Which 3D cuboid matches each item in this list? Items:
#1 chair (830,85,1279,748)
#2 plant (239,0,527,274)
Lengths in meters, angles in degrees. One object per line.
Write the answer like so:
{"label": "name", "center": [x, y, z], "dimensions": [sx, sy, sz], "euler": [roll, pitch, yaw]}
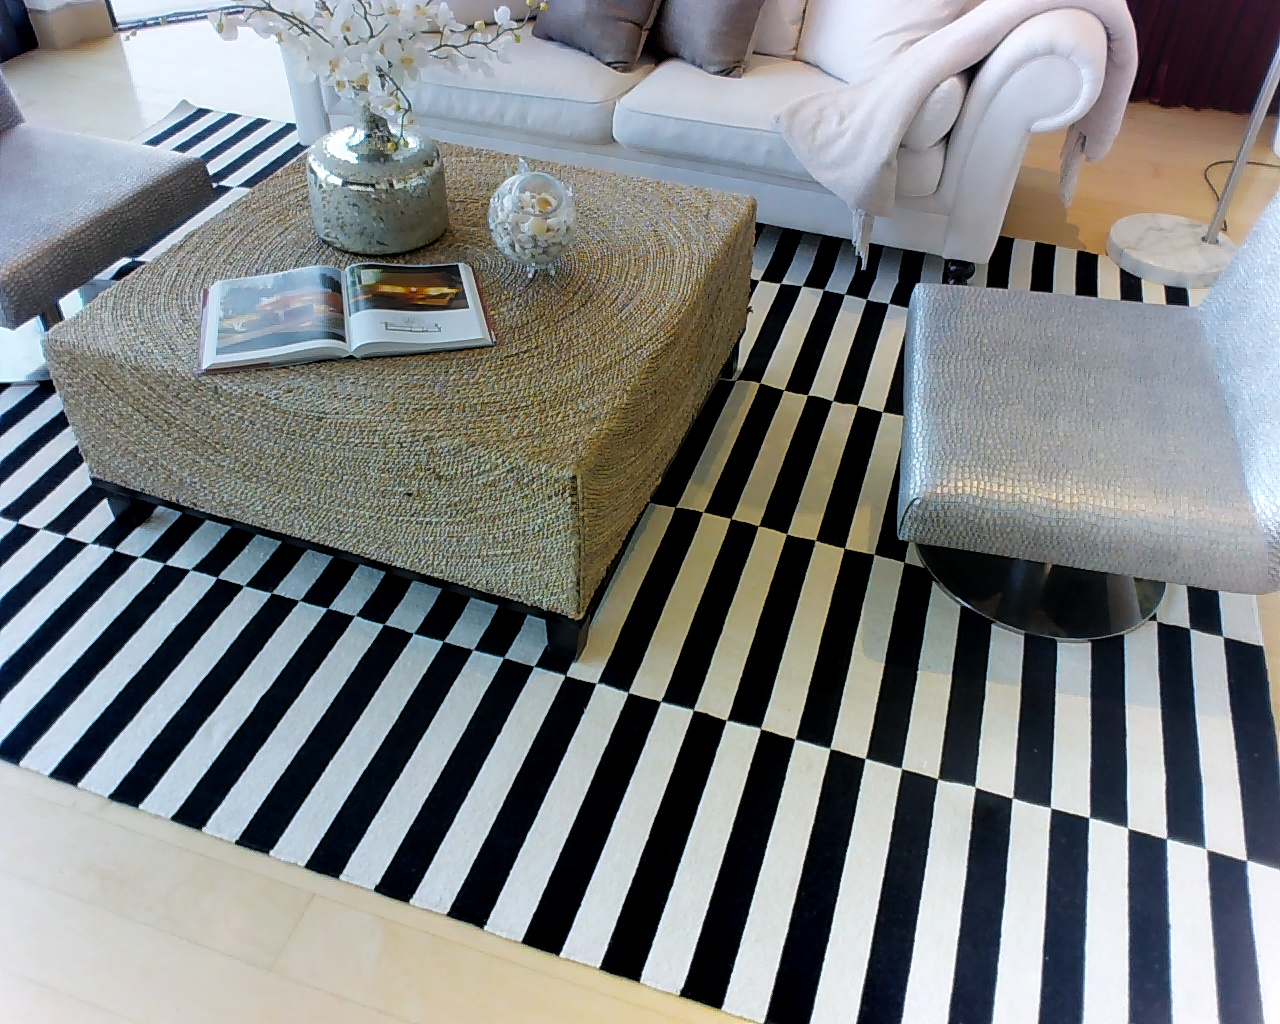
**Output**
{"label": "chair", "center": [0.880, -0.200, 1.960], "dimensions": [0.830, 0.770, 0.760], "euler": [13, 43, 13]}
{"label": "plant", "center": [-0.500, -0.850, 2.170], "dimensions": [0.340, 0.540, 0.390], "euler": [31, 49, 29]}
